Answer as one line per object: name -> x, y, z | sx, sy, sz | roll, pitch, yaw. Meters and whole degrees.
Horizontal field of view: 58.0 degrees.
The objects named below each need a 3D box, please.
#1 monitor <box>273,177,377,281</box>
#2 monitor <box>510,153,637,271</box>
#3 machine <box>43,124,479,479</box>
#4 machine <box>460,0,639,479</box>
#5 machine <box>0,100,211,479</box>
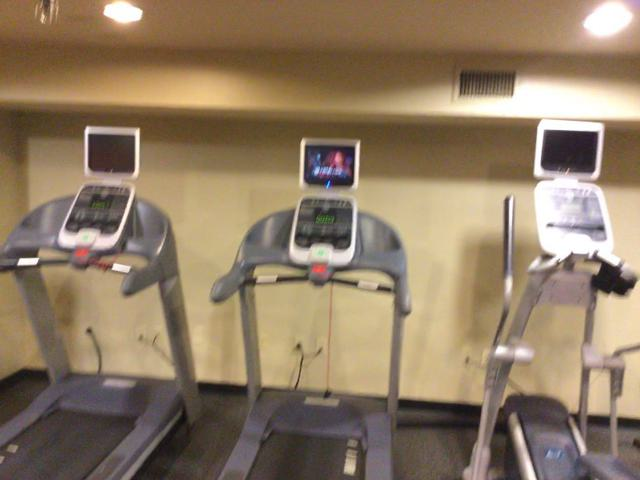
monitor -> 0.030, -0.060, 2.930 | 0.410, 0.320, 0.140 | -44, 2, 10
monitor -> 1.160, -0.130, 2.670 | 0.330, 0.420, 0.110 | 40, 10, 5
machine -> -0.070, 0.410, 2.450 | 0.980, 1.720, 2.050 | 0, 10, 4
machine -> 1.020, 0.370, 2.110 | 0.730, 1.960, 2.180 | -1, 9, 7
machine -> -1.230, 0.380, 2.430 | 0.980, 1.740, 2.160 | -1, 10, 2
